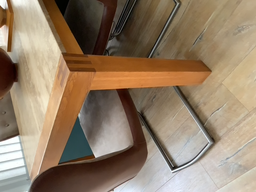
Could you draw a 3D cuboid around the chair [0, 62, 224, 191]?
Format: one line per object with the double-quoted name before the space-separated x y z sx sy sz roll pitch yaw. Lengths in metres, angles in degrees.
"chair" -0.100 0.220 1.080 0.470 0.880 0.600 -55 52 40
